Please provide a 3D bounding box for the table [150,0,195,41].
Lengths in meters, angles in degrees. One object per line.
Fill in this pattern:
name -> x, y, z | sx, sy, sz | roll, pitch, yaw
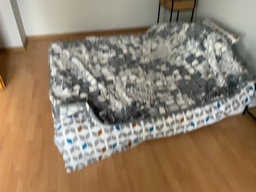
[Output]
table -> 0.670, -1.260, 3.290 | 0.470, 0.630, 0.410 | -9, 39, -13
